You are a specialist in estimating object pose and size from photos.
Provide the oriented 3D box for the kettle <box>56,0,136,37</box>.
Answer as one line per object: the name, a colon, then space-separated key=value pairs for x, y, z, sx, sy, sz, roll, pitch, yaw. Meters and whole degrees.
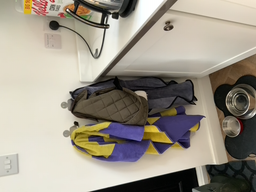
kettle: x=-0.130 y=-0.360 z=0.770 sx=0.240 sy=0.210 sz=0.170 roll=-30 pitch=65 yaw=60
